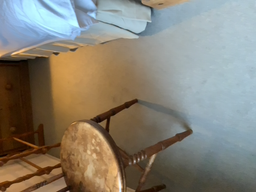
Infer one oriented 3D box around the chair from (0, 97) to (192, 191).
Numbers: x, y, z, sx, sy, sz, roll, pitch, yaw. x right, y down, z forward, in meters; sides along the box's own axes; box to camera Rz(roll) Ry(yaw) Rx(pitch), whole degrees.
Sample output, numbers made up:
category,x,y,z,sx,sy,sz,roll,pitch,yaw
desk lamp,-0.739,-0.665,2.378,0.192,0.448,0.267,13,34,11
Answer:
category,x,y,z,sx,sy,sz,roll,pitch,yaw
chair,-0.170,0.380,0.980,0.450,0.800,0.540,30,114,35
